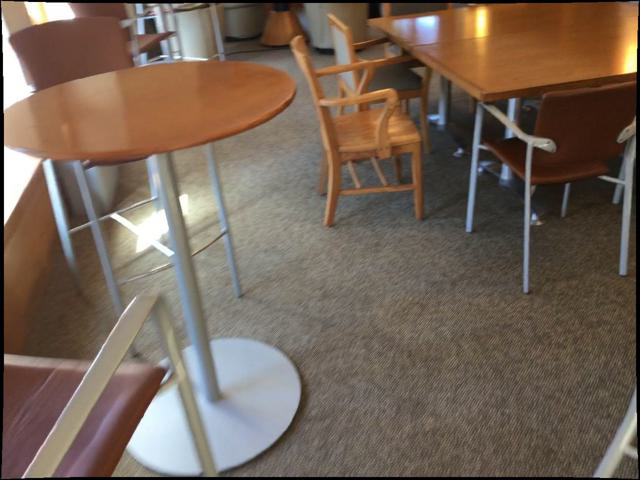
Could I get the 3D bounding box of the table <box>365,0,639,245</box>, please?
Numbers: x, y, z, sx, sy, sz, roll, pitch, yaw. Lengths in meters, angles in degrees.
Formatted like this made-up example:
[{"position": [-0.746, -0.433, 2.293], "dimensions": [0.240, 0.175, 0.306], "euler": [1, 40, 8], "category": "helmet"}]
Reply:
[{"position": [1.197, -0.822, 2.860], "dimensions": [1.427, 0.571, 1.701], "euler": [-15, 33, -9], "category": "table"}]
